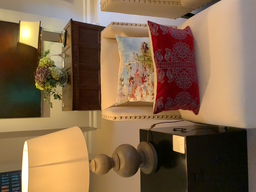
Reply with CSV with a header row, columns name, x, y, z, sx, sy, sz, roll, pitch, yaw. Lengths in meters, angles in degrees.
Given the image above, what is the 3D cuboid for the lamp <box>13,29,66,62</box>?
name,x,y,z,sx,sy,sz,roll,pitch,yaw
lamp,-1.360,-0.760,3.280,0.250,0.720,0.360,-2,88,60
